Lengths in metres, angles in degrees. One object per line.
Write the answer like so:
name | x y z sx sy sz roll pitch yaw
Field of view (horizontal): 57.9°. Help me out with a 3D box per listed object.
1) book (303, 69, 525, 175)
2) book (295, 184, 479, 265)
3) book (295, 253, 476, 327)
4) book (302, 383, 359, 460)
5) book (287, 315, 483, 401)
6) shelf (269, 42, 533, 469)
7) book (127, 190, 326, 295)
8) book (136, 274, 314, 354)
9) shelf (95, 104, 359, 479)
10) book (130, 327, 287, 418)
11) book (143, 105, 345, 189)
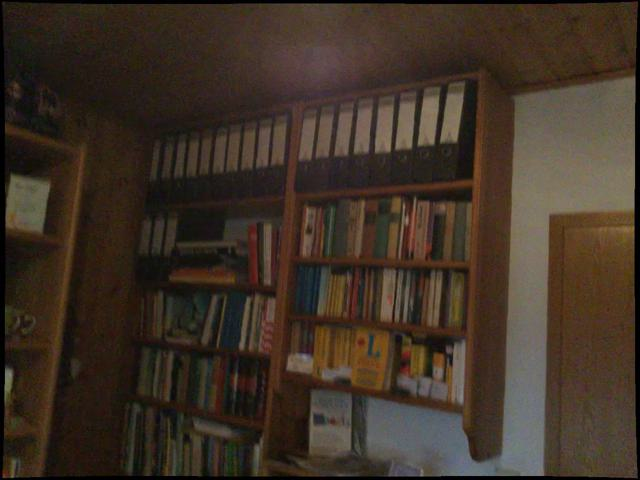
book | 0.320 -0.390 2.060 0.700 0.210 0.320 1 -8 38
book | 0.210 -0.050 1.990 0.630 0.230 0.140 1 -8 38
book | 0.200 0.160 1.970 0.640 0.200 0.090 1 -8 38
book | 0.040 0.661 2.120 0.180 0.240 0.080 5 -6 7
book | 0.210 0.390 1.990 0.620 0.190 0.240 1 -8 38
shelf | 0.280 0.040 2.030 0.730 1.241 0.360 1 -8 38
book | -0.420 0.010 2.470 0.839 0.360 0.310 1 -8 38
book | -0.420 0.300 2.440 0.770 0.250 0.260 1 -8 38
shelf | -0.420 0.440 2.400 0.949 1.842 0.350 1 -8 38
book | -0.480 0.521 2.370 0.770 0.240 0.130 1 -8 38
book | -0.350 -0.370 2.480 0.869 0.210 0.320 1 -8 38
